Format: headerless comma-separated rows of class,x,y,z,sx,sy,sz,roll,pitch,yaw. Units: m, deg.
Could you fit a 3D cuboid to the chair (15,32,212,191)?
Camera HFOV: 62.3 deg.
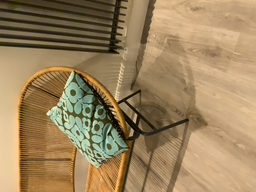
chair,-0.230,0.420,1.470,0.880,1.450,0.730,-3,-153,-35

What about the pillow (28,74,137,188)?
pillow,-0.220,0.190,1.280,0.220,0.520,0.500,35,-177,12
